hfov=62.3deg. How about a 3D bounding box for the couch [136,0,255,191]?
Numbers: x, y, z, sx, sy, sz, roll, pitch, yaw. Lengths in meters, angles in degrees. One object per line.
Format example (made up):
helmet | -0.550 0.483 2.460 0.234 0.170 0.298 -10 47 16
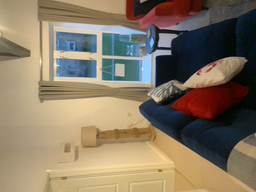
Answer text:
couch | 0.800 -0.120 1.700 2.170 0.830 1.070 -161 72 -74
